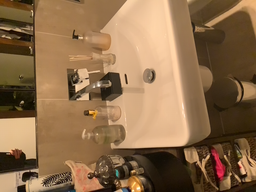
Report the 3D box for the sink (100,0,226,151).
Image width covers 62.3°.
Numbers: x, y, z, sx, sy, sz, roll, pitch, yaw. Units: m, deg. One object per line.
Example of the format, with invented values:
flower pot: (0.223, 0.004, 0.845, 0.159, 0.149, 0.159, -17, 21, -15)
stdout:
sink: (0.080, -0.100, 0.870, 0.480, 0.150, 0.610, -24, 69, 55)
